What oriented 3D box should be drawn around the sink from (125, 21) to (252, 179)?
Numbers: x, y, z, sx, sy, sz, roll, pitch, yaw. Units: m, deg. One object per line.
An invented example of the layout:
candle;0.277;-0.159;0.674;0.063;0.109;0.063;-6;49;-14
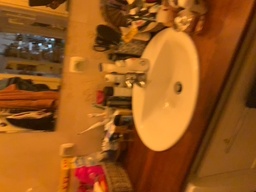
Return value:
sink;0.200;-0.010;0.970;0.460;0.160;0.550;48;130;55
